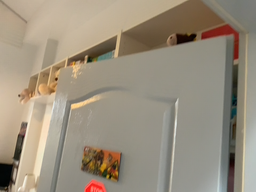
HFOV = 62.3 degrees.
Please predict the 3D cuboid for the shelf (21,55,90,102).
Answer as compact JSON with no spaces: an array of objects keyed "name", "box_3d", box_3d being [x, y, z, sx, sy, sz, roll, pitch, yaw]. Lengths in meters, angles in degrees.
[{"name":"shelf","box_3d":[-0.900,-0.150,2.490,0.290,0.350,1.170,16,-13,-39]}]
